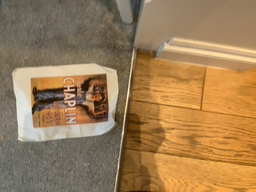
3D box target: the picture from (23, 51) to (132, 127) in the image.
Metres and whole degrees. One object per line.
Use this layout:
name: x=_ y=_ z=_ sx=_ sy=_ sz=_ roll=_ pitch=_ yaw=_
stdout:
picture: x=-0.140 y=-0.020 z=0.600 sx=0.290 sy=0.030 sz=0.200 roll=-2 pitch=86 yaw=-4
